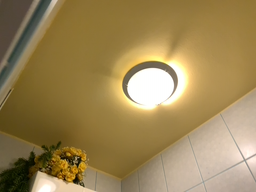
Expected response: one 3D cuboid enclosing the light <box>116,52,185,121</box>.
[{"bbox_3d":[0.110,-0.030,0.970,0.230,0.270,0.090,-15,-141,18],"label":"light"}]
